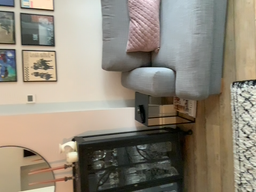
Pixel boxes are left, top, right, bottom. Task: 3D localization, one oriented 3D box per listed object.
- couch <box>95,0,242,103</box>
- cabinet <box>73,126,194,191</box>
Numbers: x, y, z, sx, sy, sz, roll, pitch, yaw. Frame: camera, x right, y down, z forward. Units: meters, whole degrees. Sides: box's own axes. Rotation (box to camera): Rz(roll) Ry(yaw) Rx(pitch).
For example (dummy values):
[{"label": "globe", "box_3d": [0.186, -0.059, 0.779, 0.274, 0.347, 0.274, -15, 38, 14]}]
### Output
[{"label": "couch", "box_3d": [0.250, -0.710, 1.990, 1.170, 0.850, 1.380, -165, 75, -67]}, {"label": "cabinet", "box_3d": [0.080, 0.860, 2.130, 0.330, 1.150, 0.980, 175, 93, -68]}]
